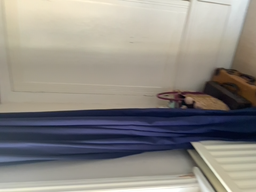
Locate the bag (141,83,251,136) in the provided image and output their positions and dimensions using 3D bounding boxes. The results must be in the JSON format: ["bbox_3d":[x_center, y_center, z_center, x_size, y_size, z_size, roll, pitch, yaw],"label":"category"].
[{"bbox_3d":[0.430,0.080,1.490,0.470,0.560,0.190,-122,37,-68],"label":"bag"}]
